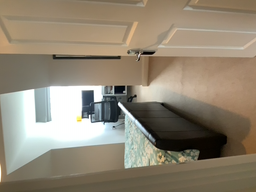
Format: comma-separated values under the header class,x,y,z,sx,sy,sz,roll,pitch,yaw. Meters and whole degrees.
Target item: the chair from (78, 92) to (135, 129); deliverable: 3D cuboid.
class,x,y,z,sx,sy,sz,roll,pitch,yaw
chair,-0.490,0.280,4.610,0.640,1.120,0.630,-148,59,-71
